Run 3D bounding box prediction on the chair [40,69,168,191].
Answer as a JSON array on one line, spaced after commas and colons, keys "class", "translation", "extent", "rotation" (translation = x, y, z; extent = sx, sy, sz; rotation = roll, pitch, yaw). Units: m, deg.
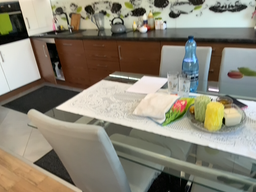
[{"class": "chair", "translation": [-0.040, 0.390, 1.240], "extent": [0.380, 0.940, 0.550], "rotation": [7, 28, 25]}]
